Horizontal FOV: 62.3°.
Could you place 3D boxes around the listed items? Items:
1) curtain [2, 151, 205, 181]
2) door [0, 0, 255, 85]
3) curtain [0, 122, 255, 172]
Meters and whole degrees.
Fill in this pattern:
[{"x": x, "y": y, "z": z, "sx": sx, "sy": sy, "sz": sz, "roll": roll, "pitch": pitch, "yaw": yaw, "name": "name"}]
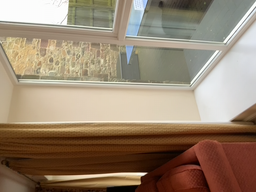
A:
[{"x": -0.270, "y": 1.000, "z": 2.990, "sx": 0.870, "sy": 2.450, "sz": 0.170, "roll": 112, "pitch": 157, "yaw": -60, "name": "curtain"}, {"x": 0.020, "y": -0.690, "z": 1.630, "sx": 2.140, "sy": 2.220, "sz": 0.090, "roll": 113, "pitch": 156, "yaw": -61, "name": "door"}, {"x": -0.020, "y": 0.500, "z": 2.020, "sx": 0.850, "sy": 2.550, "sz": 0.200, "roll": 112, "pitch": 157, "yaw": -60, "name": "curtain"}]
